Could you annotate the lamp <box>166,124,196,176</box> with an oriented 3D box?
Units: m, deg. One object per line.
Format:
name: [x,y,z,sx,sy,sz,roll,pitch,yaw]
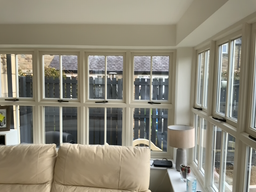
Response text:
lamp: [0.610,0.610,2.480,0.300,0.490,0.310,2,5,11]
